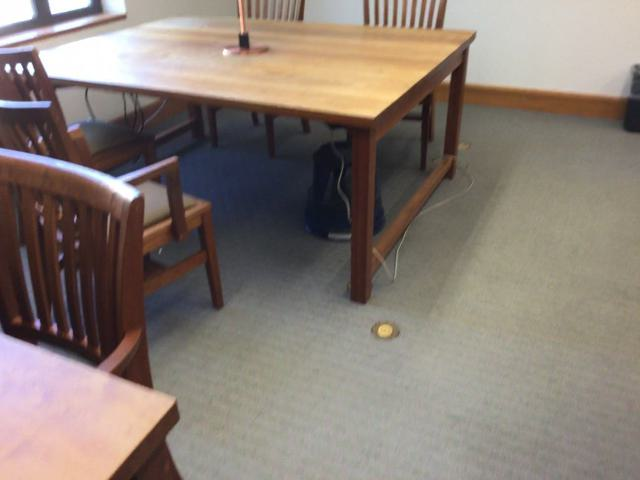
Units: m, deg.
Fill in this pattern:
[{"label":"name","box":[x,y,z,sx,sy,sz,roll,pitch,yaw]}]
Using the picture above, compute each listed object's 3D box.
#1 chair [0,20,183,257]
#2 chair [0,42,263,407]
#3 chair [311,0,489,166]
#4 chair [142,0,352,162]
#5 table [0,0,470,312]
[{"label":"chair","box":[-1.120,-0.450,2.550,0.640,0.850,0.510,6,33,23]},{"label":"chair","box":[-0.730,-0.100,2.000,0.660,0.960,0.620,20,41,40]},{"label":"chair","box":[0.500,-0.990,3.280,0.770,0.880,0.710,6,33,23]},{"label":"chair","box":[-0.400,-1.070,3.600,0.940,0.930,0.660,6,33,23]},{"label":"table","box":[-0.310,-0.560,2.790,1.790,0.950,1.330,6,33,23]}]
